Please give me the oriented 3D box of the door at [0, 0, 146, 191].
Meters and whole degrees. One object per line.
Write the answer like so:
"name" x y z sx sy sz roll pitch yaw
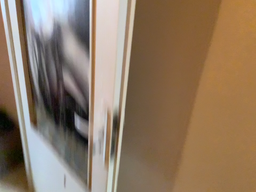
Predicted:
"door" -0.340 -0.060 0.940 0.900 1.940 0.080 29 34 37
